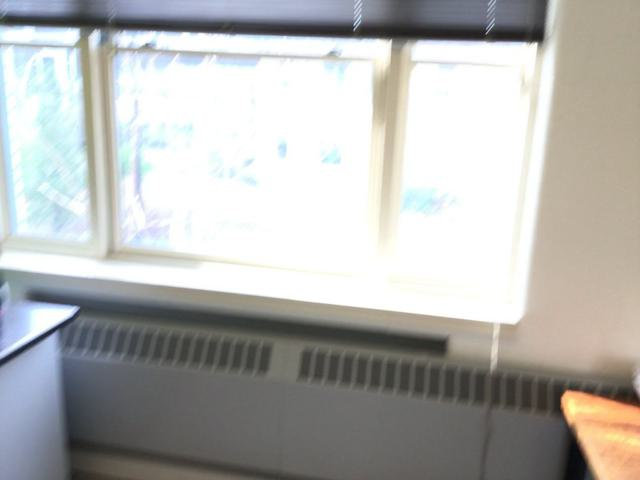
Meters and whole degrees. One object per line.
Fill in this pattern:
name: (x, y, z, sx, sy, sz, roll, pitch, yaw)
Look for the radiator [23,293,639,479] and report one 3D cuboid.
radiator: (0.060, 0.640, 2.080, 2.210, 0.600, 0.310, 5, 14, 8)
